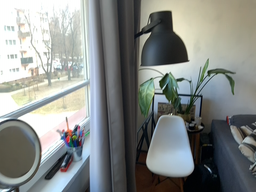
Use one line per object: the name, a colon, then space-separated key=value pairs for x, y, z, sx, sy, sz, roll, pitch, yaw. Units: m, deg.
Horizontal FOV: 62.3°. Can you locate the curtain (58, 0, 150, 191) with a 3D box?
curtain: x=-0.050 y=0.160 z=1.450 sx=0.230 sy=2.150 sz=1.080 roll=3 pitch=14 yaw=11
